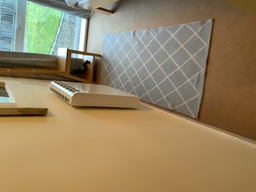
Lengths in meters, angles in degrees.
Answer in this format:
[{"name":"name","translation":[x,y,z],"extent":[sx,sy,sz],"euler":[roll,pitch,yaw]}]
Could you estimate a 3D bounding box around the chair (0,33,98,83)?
[{"name":"chair","translation":[-1.120,-0.470,2.720],"extent":[0.410,1.370,0.450],"euler":[19,103,55]}]
